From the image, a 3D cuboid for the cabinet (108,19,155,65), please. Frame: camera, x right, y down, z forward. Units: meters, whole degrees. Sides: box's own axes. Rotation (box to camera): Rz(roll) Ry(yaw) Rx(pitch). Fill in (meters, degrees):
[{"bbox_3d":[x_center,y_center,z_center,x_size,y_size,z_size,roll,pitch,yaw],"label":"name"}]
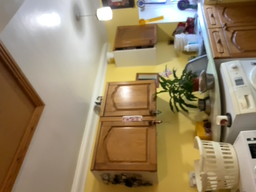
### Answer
[{"bbox_3d":[0.080,-0.780,3.070,0.360,0.610,0.530,79,-167,-51],"label":"cabinet"}]
